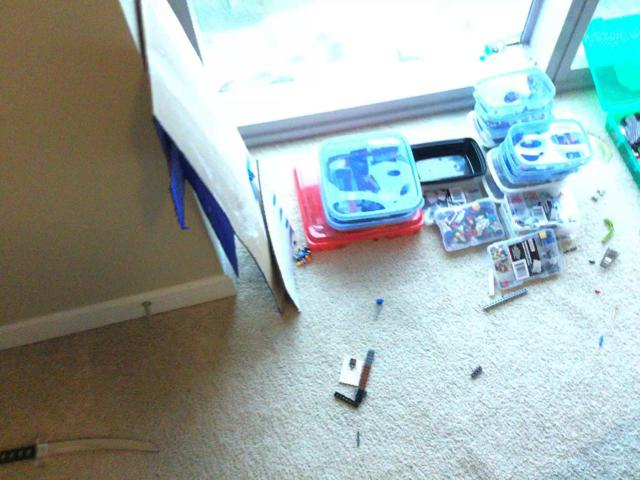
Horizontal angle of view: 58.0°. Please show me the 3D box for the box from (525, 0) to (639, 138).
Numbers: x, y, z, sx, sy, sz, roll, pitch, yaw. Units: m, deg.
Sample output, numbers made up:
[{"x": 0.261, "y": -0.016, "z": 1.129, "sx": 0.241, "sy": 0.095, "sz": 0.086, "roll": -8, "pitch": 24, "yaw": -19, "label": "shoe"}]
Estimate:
[{"x": 0.910, "y": -0.550, "z": 1.780, "sx": 0.380, "sy": 0.200, "sz": 0.340, "roll": -16, "pitch": 58, "yaw": -6, "label": "box"}]

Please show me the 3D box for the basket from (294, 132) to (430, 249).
[{"x": 0.100, "y": -0.130, "z": 1.500, "sx": 0.310, "sy": 0.130, "sz": 0.240, "roll": -6, "pitch": 58, "yaw": 0, "label": "basket"}]
